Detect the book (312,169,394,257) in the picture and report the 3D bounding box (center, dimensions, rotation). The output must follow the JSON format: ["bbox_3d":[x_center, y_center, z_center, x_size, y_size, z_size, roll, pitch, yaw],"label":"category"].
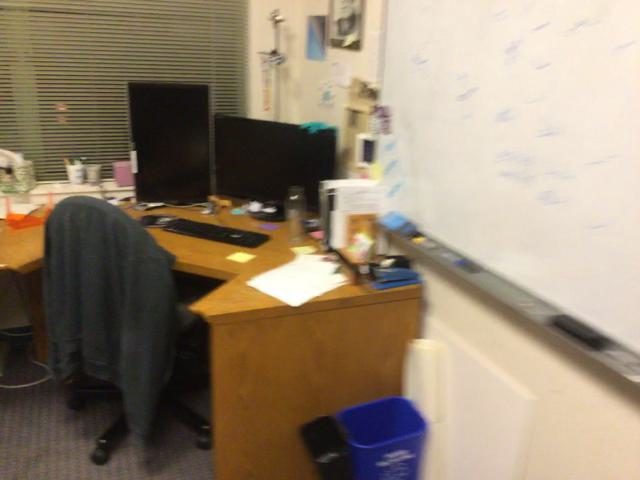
[{"bbox_3d":[0.120,-0.110,2.210,0.220,0.270,0.210,-5,21,-24],"label":"book"}]

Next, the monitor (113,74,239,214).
[{"bbox_3d":[-0.630,-0.430,2.560,0.490,0.560,0.200,-5,21,-24],"label":"monitor"}]

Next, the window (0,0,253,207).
[{"bbox_3d":[-1.280,-1.030,2.330,2.050,1.800,0.200,-5,21,-24],"label":"window"}]
